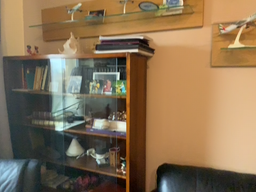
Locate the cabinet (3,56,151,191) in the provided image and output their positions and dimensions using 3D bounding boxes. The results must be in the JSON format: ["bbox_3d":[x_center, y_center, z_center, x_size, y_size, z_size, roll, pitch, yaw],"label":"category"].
[{"bbox_3d":[-0.410,0.240,1.650,1.090,1.030,0.360,3,6,24],"label":"cabinet"}]
